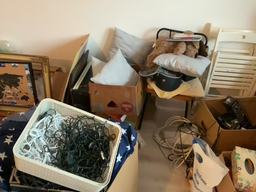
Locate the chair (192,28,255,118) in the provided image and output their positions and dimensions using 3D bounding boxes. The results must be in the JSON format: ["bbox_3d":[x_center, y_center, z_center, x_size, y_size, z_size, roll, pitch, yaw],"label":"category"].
[{"bbox_3d":[0.900,-0.180,1.960,0.420,0.820,0.160,8,38,7],"label":"chair"}]
